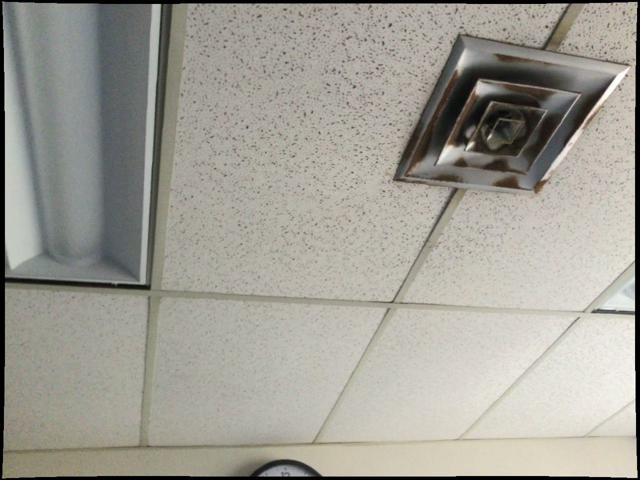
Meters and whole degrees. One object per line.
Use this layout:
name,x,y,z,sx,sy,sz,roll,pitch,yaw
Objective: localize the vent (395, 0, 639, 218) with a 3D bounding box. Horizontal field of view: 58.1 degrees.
vent,0.389,-0.231,1.100,0.359,0.060,0.440,4,-43,-15
